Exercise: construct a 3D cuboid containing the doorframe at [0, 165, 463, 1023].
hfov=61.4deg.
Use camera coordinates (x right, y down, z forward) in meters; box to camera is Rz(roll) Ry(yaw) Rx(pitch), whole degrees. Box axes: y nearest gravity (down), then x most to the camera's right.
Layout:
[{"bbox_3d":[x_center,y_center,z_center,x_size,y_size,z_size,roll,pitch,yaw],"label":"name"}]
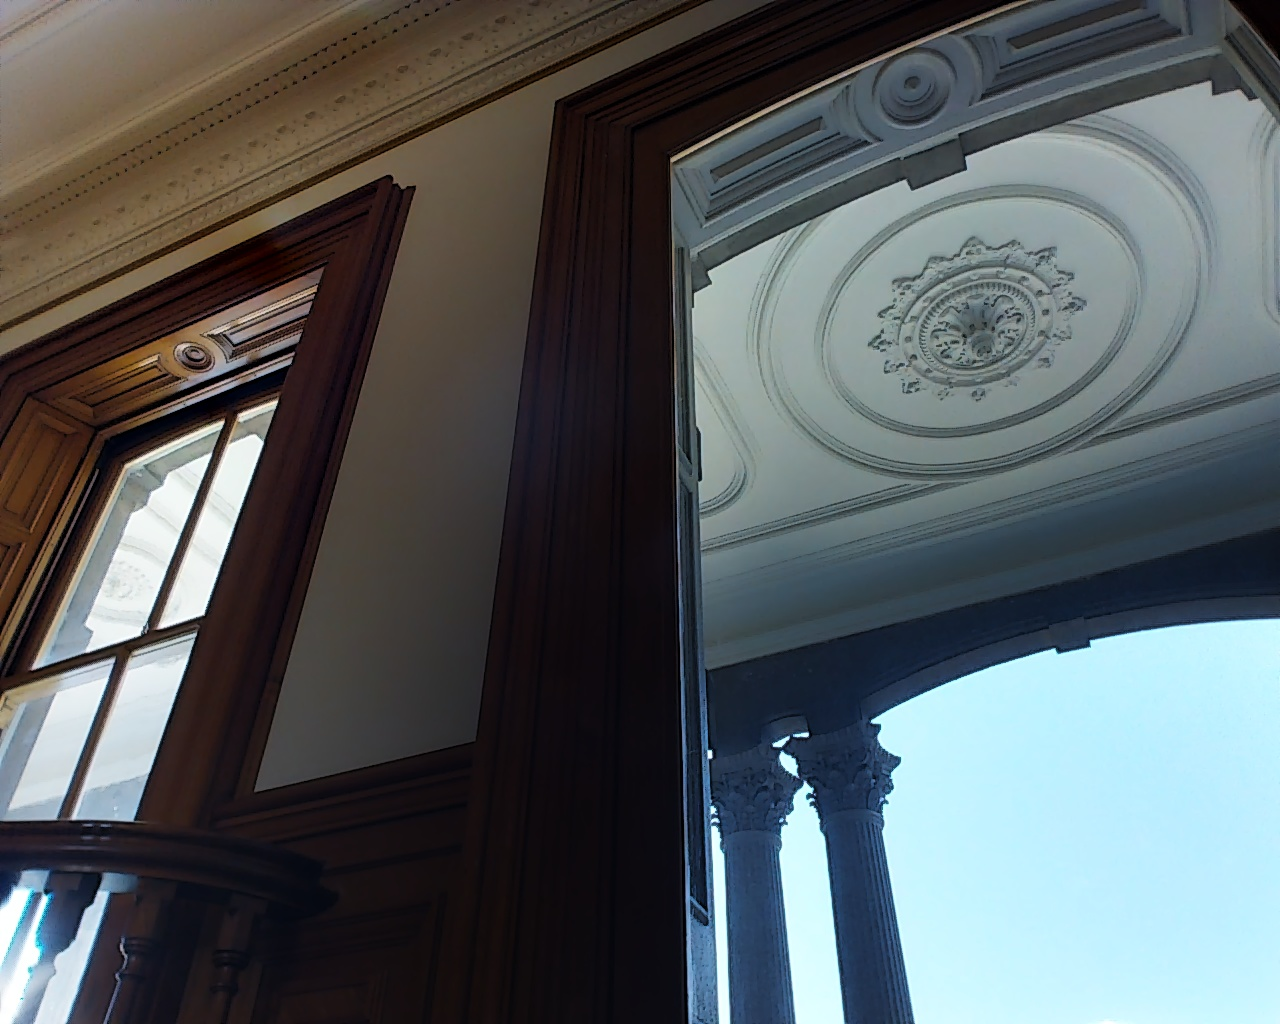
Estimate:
[{"bbox_3d":[-1.679,0.460,3.150,1.959,3.391,0.470,-18,-45,20],"label":"doorframe"}]
